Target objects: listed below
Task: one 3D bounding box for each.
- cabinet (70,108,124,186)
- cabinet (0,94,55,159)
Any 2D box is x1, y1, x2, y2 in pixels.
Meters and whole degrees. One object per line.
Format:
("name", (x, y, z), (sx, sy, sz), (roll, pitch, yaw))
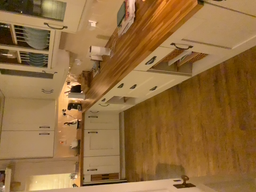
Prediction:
("cabinet", (-0.640, 0.990, 4.310), (0.610, 0.920, 1.380), (150, 120, -63))
("cabinet", (-1.940, 0.570, 4.000), (0.300, 1.000, 1.140), (150, 120, -63))
